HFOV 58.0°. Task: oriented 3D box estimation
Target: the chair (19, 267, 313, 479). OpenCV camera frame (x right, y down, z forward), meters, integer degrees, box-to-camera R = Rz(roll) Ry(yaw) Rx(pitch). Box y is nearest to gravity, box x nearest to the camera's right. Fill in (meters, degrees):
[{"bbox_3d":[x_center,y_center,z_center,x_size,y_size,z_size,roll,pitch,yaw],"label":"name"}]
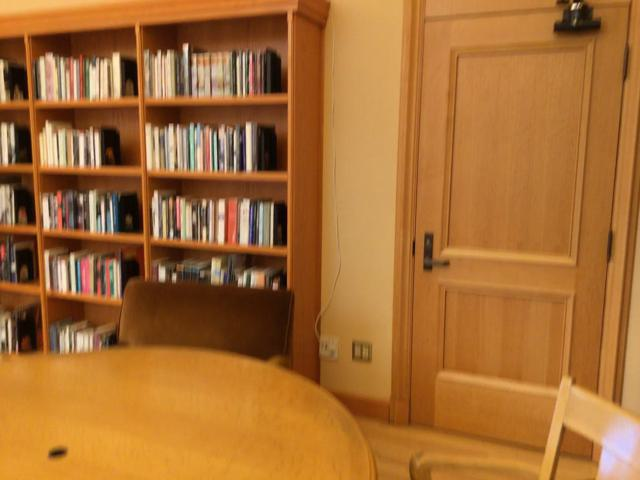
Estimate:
[{"bbox_3d":[-0.550,0.640,2.300,0.830,0.860,0.770,5,9,13],"label":"chair"}]
